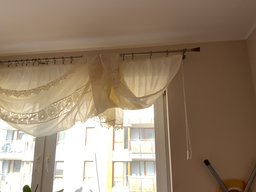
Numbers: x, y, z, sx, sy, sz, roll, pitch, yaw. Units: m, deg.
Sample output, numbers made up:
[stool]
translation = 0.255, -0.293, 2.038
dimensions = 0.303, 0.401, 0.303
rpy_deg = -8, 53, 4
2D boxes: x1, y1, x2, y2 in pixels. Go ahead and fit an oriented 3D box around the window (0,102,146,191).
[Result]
[window]
translation = -0.880, 0.640, 1.990
dimensions = 2.070, 1.090, 0.160
rpy_deg = -2, -15, 9
